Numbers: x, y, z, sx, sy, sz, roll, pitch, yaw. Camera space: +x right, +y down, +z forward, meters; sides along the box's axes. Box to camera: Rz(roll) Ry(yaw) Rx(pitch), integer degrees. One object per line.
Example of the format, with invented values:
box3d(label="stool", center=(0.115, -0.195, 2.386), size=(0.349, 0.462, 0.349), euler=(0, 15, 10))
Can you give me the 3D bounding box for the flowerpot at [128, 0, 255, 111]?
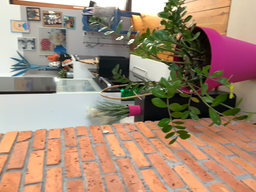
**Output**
box3d(label="flowerpot", center=(0.570, -0.300, 1.540), size=(0.360, 1.040, 0.680), euler=(-136, 47, -65))
